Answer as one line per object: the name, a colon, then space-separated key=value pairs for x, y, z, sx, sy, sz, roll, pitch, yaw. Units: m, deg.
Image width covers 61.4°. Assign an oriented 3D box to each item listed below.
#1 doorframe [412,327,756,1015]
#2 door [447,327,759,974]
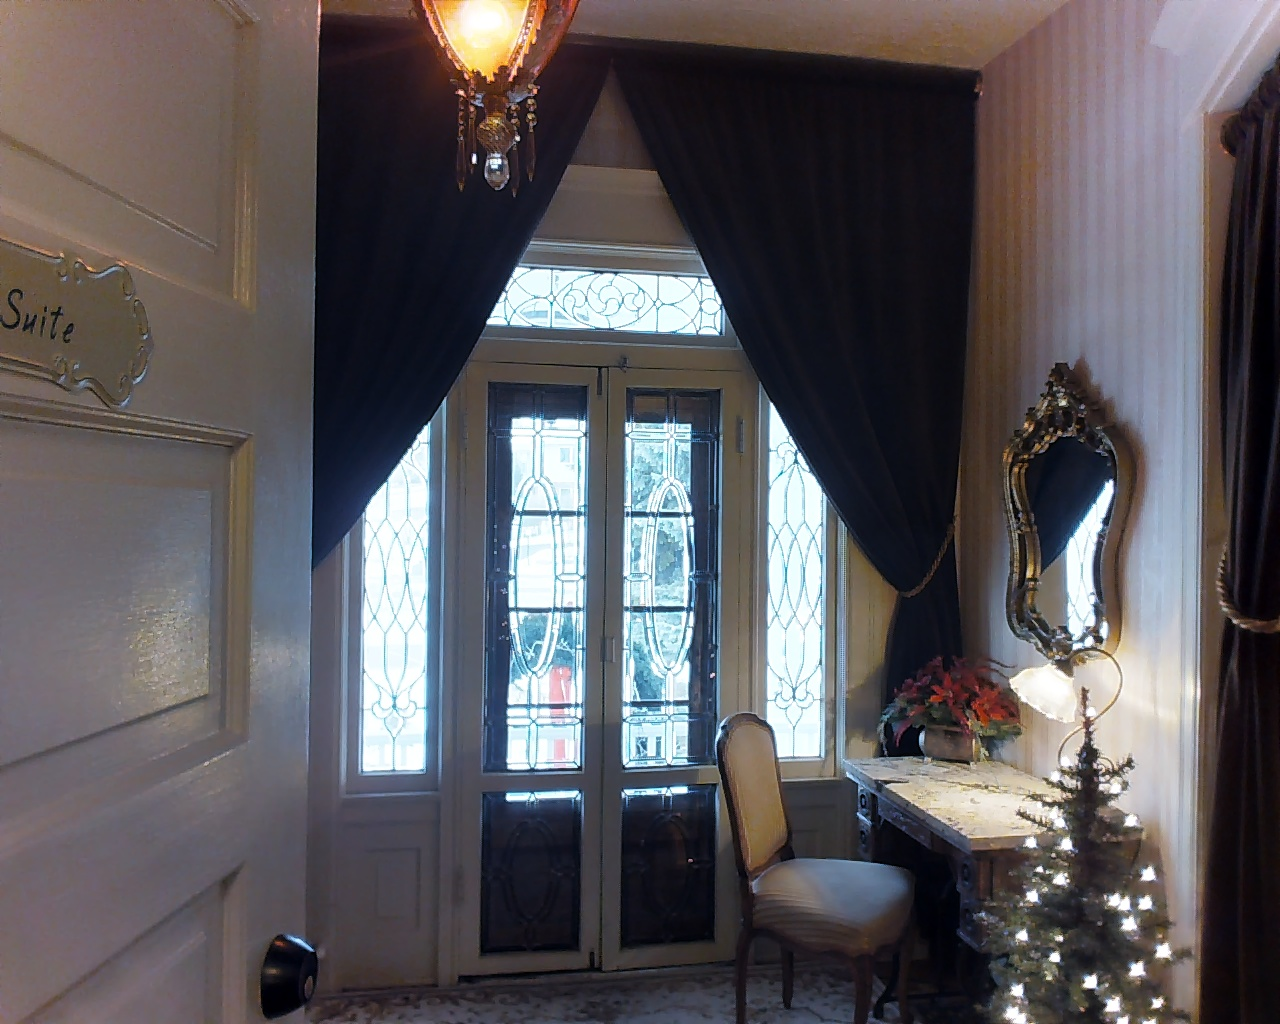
doorframe: x=-0.180 y=0.520 z=3.660 sx=1.120 sy=2.221 sz=0.140 roll=1 pitch=-1 yaw=-11
door: x=-0.120 y=0.450 z=3.640 sx=1.010 sy=2.081 sz=0.150 roll=1 pitch=-1 yaw=-11
